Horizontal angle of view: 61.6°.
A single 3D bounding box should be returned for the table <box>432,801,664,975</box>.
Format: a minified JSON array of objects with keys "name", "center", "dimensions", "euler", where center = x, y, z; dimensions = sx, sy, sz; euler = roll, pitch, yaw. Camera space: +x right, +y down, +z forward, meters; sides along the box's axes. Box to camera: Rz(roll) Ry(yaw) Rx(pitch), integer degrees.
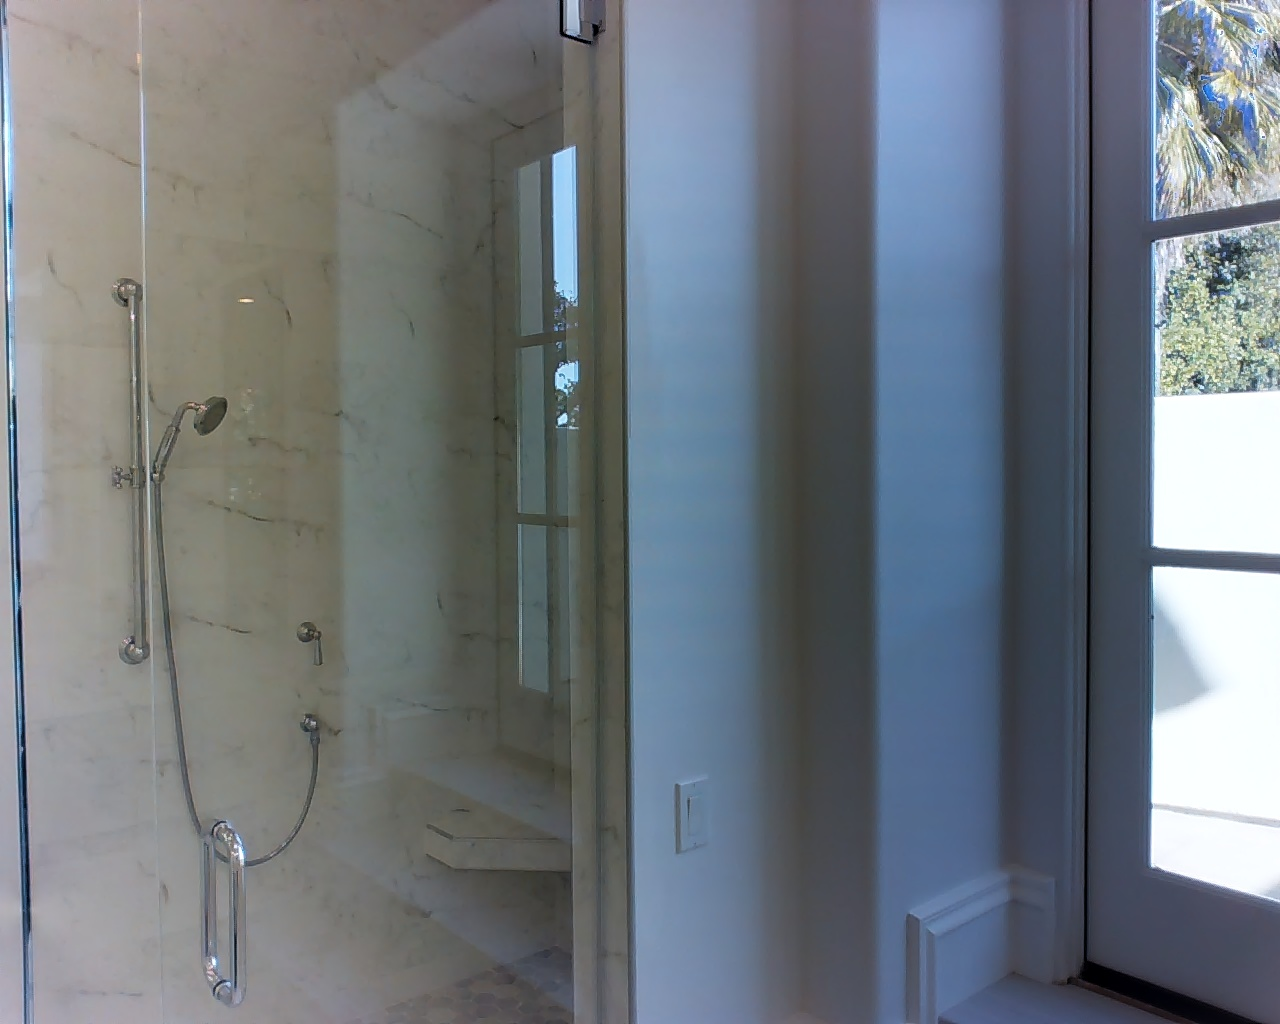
[{"name":"table","center":[-0.280,1.100,3.220],"dimensions":[0.480,0.260,0.520],"euler":[-1,2,-41]}]
